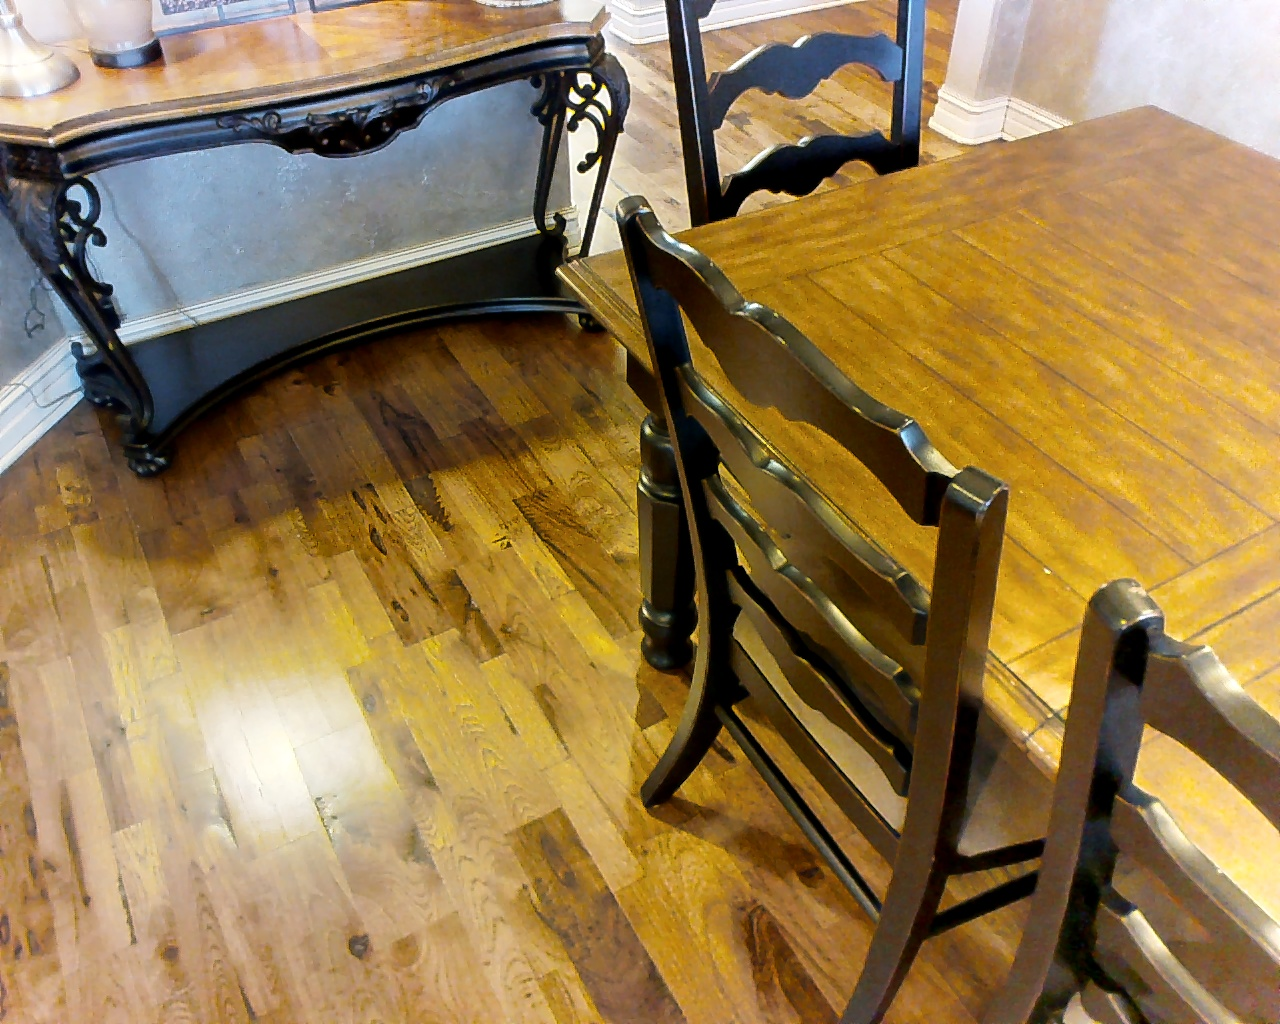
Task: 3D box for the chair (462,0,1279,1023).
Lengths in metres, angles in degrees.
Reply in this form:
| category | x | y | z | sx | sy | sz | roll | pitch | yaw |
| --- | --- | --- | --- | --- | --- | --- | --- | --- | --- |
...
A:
| category | x | y | z | sx | sy | sz | roll | pitch | yaw |
| --- | --- | --- | --- | --- | --- | --- | --- | --- | --- |
| chair | 0.380 | 0.230 | 1.160 | 0.520 | 1.060 | 1.380 | -21 | 47 | -21 |

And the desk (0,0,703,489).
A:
| category | x | y | z | sx | sy | sz | roll | pitch | yaw |
| --- | --- | --- | --- | --- | --- | --- | --- | --- | --- |
| desk | -0.600 | -0.710 | 2.430 | 1.410 | 0.760 | 0.490 | -21 | 47 | -21 |

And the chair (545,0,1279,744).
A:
| category | x | y | z | sx | sy | sz | roll | pitch | yaw |
| --- | --- | --- | --- | --- | --- | --- | --- | --- | --- |
| chair | 0.390 | -0.340 | 1.810 | 0.820 | 1.040 | 0.720 | -20 | 47 | -20 |
